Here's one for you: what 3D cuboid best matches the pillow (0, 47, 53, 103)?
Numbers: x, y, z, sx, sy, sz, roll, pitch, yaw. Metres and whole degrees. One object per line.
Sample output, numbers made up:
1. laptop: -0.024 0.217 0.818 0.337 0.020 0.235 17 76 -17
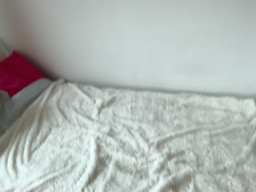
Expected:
1. pillow: -1.010 -0.200 1.810 0.500 0.250 0.440 5 37 11
